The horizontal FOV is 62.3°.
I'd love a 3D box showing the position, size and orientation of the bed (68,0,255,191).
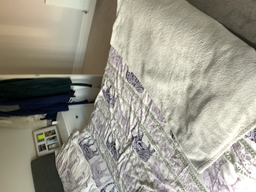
[{"bbox_3d":[0.140,0.330,1.800,1.570,0.550,2.360,57,138,38],"label":"bed"}]
